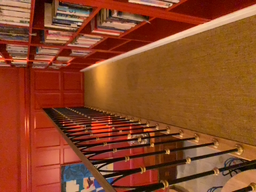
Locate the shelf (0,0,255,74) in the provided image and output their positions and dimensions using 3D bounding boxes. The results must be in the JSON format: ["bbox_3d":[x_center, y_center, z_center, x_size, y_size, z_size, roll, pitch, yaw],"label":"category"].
[{"bbox_3d":[-0.690,-0.660,1.860,5.800,2.040,0.370,1,92,64],"label":"shelf"}]
